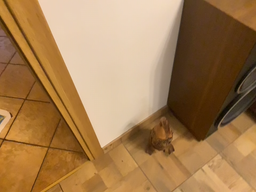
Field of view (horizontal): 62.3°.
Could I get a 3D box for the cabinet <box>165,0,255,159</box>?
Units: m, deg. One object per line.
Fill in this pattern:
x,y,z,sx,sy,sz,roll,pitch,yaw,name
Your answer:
0.470,-0.080,0.980,0.440,0.790,0.290,-32,60,-18,cabinet
